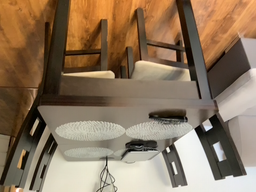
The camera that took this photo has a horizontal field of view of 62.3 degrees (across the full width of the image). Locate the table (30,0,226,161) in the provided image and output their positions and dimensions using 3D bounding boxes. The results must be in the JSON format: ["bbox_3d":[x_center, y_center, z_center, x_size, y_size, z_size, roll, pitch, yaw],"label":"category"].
[{"bbox_3d":[-0.080,-0.020,1.640,0.820,0.780,1.330,1,154,-8],"label":"table"}]
